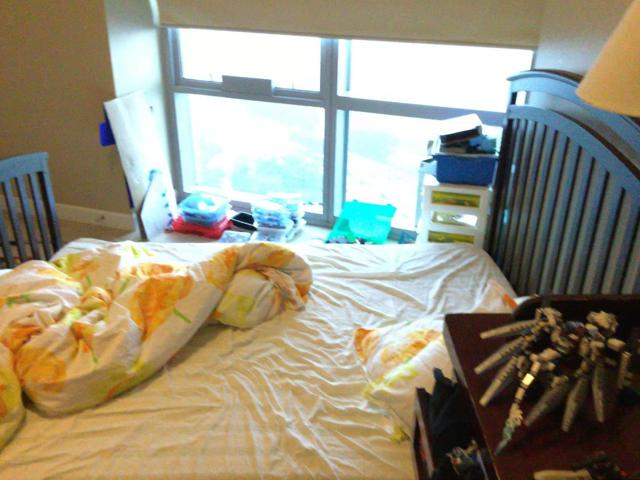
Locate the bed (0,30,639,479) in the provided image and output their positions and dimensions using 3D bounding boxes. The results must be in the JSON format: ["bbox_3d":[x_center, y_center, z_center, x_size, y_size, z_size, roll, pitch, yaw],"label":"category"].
[{"bbox_3d":[-0.190,0.100,1.840,2.050,1.230,1.440,1,26,-2],"label":"bed"}]
